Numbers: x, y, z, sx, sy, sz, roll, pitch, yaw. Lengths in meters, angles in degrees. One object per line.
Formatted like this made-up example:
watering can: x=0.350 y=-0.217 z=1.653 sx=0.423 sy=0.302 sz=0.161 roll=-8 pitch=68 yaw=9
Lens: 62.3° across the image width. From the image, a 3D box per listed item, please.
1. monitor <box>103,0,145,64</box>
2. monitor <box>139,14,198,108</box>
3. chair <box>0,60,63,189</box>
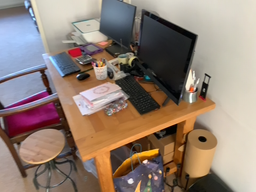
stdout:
monitor: x=-0.050 y=-0.570 z=1.790 sx=0.070 sy=0.410 sz=0.560 roll=-19 pitch=40 yaw=-24
monitor: x=0.210 y=-0.230 z=1.300 sx=0.060 sy=0.420 sz=0.460 roll=-9 pitch=36 yaw=-20
chair: x=-0.930 y=0.220 z=1.730 sx=0.480 sy=0.790 sz=0.510 roll=-22 pitch=40 yaw=-23
